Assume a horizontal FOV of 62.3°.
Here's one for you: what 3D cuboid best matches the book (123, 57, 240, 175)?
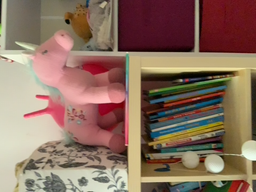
[{"bbox_3d":[0.180,0.080,0.990,0.550,0.370,0.390,149,122,-85],"label":"book"}]
